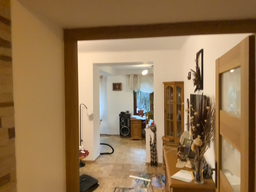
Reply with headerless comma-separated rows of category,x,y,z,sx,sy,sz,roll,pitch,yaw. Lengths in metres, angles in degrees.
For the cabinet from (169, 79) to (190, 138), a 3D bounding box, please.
cabinet,1.120,0.260,4.670,0.420,1.230,0.430,0,2,10
